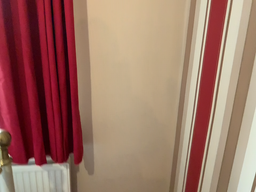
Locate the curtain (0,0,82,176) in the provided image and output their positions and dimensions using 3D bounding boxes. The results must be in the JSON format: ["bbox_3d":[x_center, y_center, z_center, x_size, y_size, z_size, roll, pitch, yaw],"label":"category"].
[{"bbox_3d":[-0.480,-0.430,1.070,0.440,1.820,0.140,0,17,-10],"label":"curtain"}]
